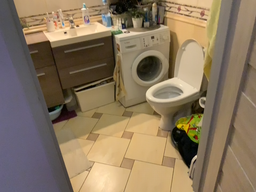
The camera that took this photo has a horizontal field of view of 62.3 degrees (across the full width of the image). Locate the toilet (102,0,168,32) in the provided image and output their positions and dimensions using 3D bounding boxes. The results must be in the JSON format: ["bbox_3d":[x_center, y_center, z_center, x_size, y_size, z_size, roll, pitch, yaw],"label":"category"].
[{"bbox_3d":[0.070,-0.960,2.360,0.570,0.290,0.440,-19,35,-22],"label":"toilet"}]

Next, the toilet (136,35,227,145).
[{"bbox_3d":[0.480,-0.070,2.040,0.660,0.810,0.400,-20,36,-23],"label":"toilet"}]
